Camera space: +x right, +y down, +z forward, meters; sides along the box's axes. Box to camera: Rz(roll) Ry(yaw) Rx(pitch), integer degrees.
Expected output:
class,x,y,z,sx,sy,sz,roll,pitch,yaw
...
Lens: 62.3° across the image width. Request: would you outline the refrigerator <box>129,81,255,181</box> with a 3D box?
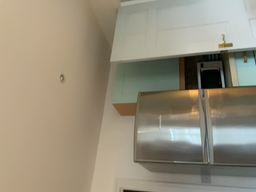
class,x,y,z,sx,sy,sz,roll,pitch,yaw
refrigerator,0.940,0.330,1.810,0.720,1.690,0.620,62,-150,-58
